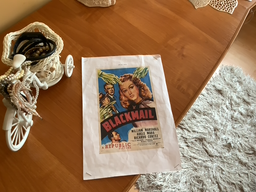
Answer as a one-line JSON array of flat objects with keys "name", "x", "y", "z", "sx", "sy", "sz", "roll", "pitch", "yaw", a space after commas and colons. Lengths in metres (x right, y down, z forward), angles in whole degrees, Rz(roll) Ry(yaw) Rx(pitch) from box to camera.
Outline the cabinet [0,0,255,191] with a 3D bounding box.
[{"name": "cabinet", "x": 0.260, "y": -0.340, "z": 1.220, "sx": 0.510, "sy": 0.980, "sz": 2.730, "roll": 38, "pitch": 68, "yaw": 11}]

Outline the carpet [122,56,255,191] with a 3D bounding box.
[{"name": "carpet", "x": 0.620, "y": 0.300, "z": 1.510, "sx": 0.720, "sy": 0.050, "sz": 1.200, "roll": 39, "pitch": 68, "yaw": 11}]
